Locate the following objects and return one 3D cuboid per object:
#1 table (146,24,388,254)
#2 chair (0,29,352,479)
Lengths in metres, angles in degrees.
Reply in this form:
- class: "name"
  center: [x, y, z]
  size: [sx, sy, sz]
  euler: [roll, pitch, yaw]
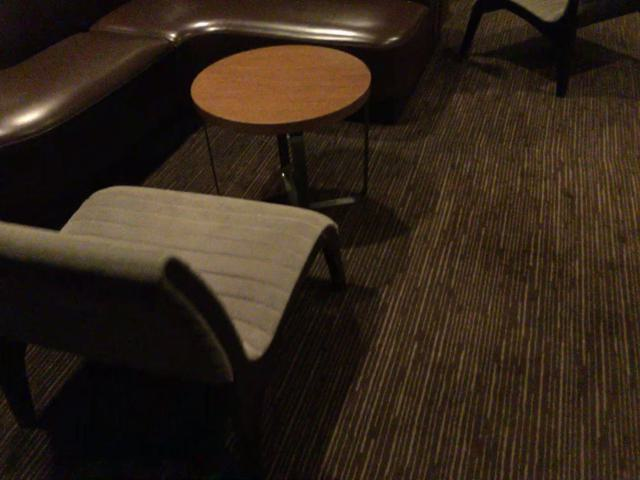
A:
- class: "table"
  center: [-0.120, -0.360, 1.930]
  size: [0.580, 0.490, 0.560]
  euler: [8, 43, 16]
- class: "chair"
  center: [-0.370, 0.060, 1.360]
  size: [0.710, 0.800, 0.710]
  euler: [9, 44, 15]
